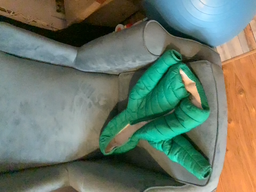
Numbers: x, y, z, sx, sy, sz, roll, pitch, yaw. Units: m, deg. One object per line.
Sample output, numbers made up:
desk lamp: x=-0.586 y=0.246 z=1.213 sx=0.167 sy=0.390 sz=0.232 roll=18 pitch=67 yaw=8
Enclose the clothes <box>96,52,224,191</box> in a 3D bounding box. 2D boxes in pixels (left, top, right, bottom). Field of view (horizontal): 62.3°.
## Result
clothes: x=0.100 y=0.080 z=0.900 sx=0.520 sy=0.120 sz=0.460 roll=3 pitch=88 yaw=41
